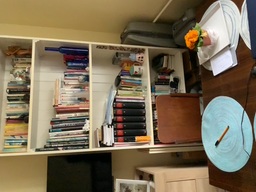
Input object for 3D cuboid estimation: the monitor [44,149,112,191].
[{"bbox_3d":[-0.400,0.940,1.740,0.030,0.550,0.950,147,123,-72],"label":"monitor"}]
